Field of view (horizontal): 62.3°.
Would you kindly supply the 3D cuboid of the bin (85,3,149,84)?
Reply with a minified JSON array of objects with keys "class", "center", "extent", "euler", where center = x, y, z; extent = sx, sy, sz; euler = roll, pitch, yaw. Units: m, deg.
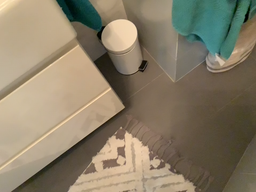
[{"class":"bin","center":[-0.040,-0.250,1.080],"extent":[0.180,0.300,0.220],"euler":[-35,69,-3]}]

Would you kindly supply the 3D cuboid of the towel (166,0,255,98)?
[{"class":"towel","center":[0.230,-0.300,0.400],"extent":[0.240,1.040,0.190],"euler":[-38,70,-4]}]
